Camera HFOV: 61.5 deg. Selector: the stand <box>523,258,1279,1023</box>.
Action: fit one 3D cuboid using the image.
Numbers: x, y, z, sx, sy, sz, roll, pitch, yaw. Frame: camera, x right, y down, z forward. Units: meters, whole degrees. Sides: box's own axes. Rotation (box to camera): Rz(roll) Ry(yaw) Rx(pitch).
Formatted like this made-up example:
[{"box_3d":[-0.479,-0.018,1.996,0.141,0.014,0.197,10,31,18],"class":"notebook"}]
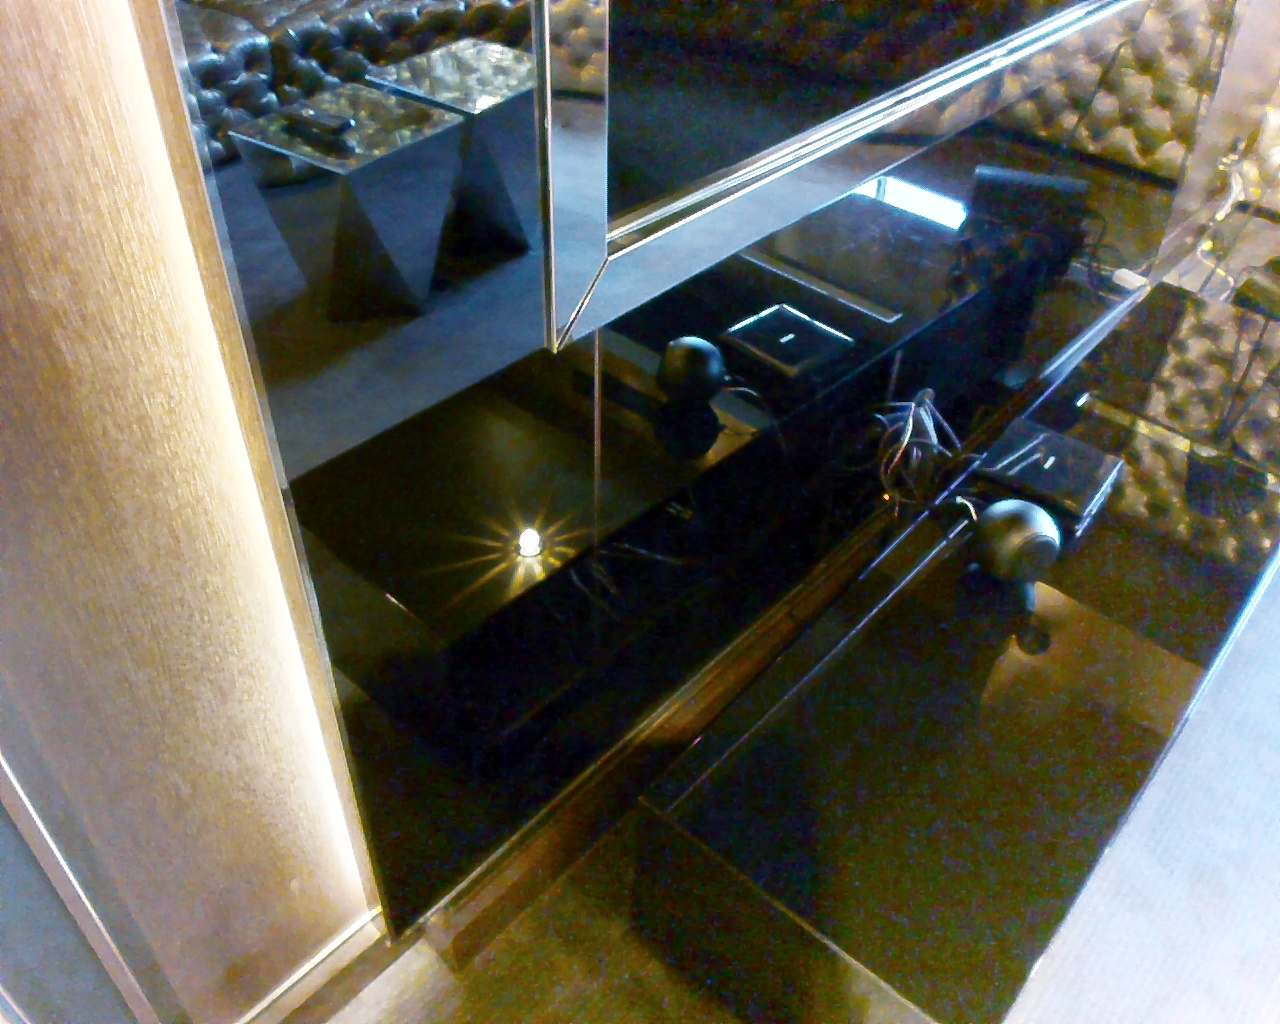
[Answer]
[{"box_3d":[0.730,0.150,1.930,0.700,0.380,1.880,31,49,30],"class":"stand"}]
